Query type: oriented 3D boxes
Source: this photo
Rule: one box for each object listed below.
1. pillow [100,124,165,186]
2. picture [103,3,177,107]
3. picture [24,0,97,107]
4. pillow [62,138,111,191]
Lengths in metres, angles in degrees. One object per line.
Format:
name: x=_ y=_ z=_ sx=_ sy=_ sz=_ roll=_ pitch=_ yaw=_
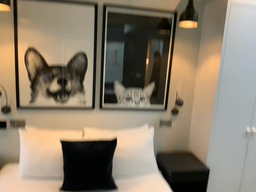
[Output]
pillow: x=0.030 y=0.540 z=2.000 sx=0.510 sy=0.450 sz=0.240 roll=-2 pitch=22 yaw=-23
picture: x=0.120 y=-0.380 z=2.180 sx=0.710 sy=1.010 sz=0.010 roll=1 pitch=11 yaw=-12
picture: x=-0.640 y=-0.400 z=2.040 sx=0.640 sy=1.000 sz=0.050 roll=2 pitch=10 yaw=-5
pillow: x=-0.330 y=0.580 z=1.730 sx=0.360 sy=0.410 sz=0.190 roll=-1 pitch=24 yaw=-10
